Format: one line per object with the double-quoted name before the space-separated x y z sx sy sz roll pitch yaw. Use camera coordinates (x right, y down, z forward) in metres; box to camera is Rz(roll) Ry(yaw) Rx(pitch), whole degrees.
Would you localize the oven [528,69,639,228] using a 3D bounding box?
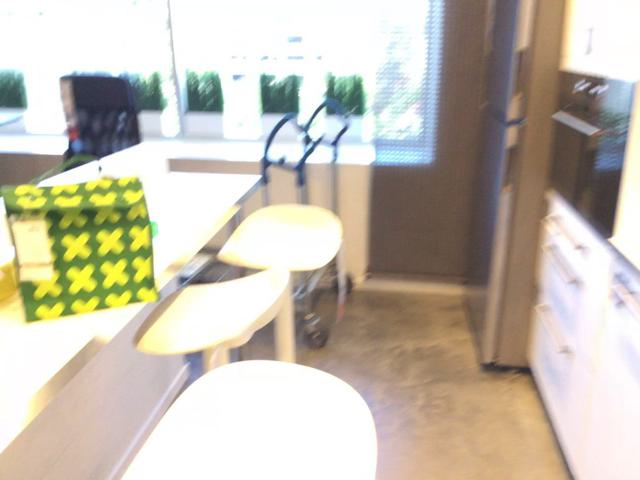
"oven" 0.840 -0.320 1.820 0.130 0.400 0.740 0 15 4
